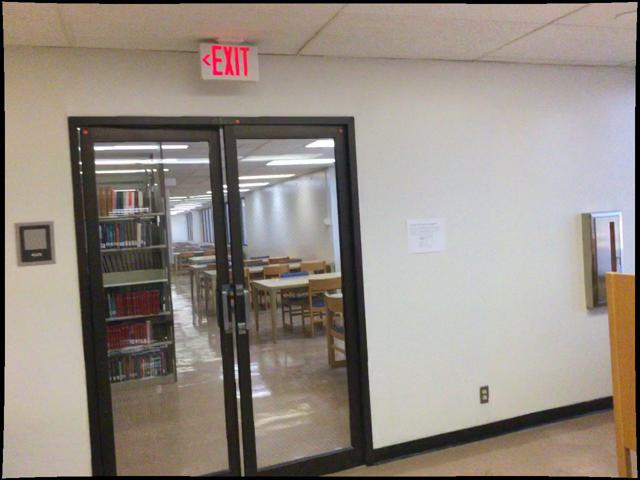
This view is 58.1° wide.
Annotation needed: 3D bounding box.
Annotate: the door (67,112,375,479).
[{"bbox_3d":[-0.519,0.381,3.280,1.536,2.125,0.360,-4,2,-18],"label":"door"}]
